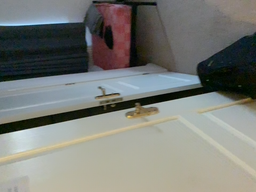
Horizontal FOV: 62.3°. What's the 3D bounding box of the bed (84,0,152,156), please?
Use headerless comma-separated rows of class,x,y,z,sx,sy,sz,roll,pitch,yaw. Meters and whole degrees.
bed,-0.210,-0.320,3.080,1.050,0.470,2.030,39,133,54
